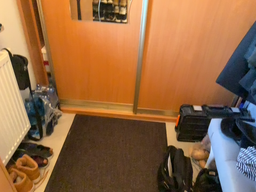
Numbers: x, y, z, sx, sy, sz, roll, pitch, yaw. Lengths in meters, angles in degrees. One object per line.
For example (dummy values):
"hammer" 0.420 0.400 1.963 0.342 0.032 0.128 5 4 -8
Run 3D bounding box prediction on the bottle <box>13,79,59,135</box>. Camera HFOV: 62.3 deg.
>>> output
"bottle" -0.710 0.090 1.690 0.190 0.370 0.220 9 38 6
